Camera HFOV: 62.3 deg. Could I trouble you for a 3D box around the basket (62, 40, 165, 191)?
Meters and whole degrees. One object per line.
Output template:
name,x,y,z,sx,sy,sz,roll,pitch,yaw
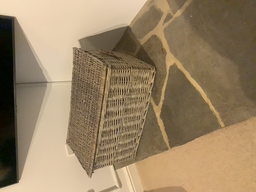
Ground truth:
basket,-0.140,0.090,1.340,0.470,0.350,0.760,34,121,45
